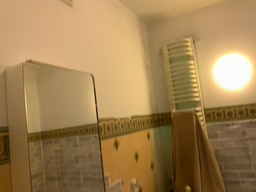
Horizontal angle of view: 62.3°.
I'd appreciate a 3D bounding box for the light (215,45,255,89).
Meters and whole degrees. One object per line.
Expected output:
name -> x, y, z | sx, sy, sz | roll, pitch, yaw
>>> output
light -> 0.930, -0.240, 1.830 | 0.280, 0.310, 0.090 | -10, -7, 26
